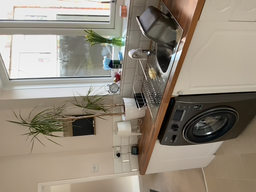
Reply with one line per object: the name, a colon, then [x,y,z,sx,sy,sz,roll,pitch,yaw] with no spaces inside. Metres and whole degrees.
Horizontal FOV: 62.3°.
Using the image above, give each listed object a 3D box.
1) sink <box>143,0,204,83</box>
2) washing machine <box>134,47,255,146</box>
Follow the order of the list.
sink: [0.310,-0.460,1.670,0.490,0.190,0.520,99,163,-45]
washing machine: [0.620,-0.020,2.090,0.620,0.920,0.700,99,163,-45]
